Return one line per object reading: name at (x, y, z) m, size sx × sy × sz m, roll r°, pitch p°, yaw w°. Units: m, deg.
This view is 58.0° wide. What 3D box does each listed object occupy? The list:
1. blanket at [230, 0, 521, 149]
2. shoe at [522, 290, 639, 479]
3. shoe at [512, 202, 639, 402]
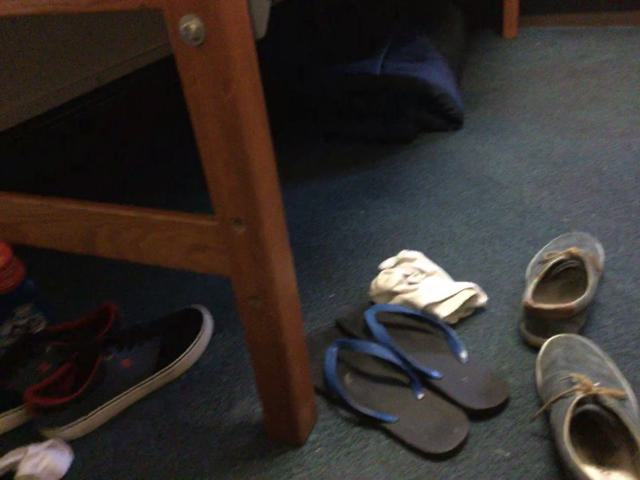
blanket at (0.250, -0.610, 1.900) m, size 0.620 × 0.200 × 0.990 m, roll 8°, pitch 35°, yaw 26°
shoe at (0.340, 0.190, 0.720) m, size 0.140 × 0.080 × 0.310 m, roll 0°, pitch 33°, yaw 14°
shoe at (0.390, 0.070, 0.910) m, size 0.160 × 0.080 × 0.390 m, roll 1°, pitch 33°, yaw 17°
